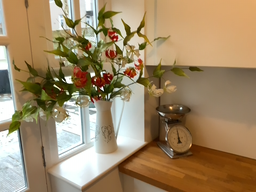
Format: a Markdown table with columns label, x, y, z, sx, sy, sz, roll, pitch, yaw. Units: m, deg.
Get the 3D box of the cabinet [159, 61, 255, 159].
| label | x | y | z | sx | sy | sz | roll | pitch | yaw |
| --- | --- | --- | --- | --- | --- | --- | --- | --- | --- |
| cabinet | 0.540 | 0.050 | 1.310 | 0.670 | 0.490 | 0.200 | 9 | 17 | 35 |
